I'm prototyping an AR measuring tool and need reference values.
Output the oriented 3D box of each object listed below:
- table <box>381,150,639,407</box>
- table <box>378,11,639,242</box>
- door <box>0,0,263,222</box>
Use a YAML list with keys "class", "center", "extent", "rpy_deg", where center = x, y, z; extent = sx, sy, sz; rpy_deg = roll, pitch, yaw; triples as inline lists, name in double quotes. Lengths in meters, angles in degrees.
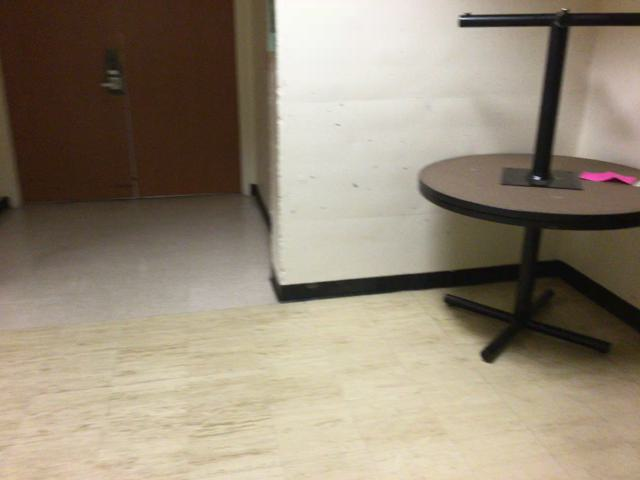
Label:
- class: "table"
  center: [0.860, 0.080, 2.610]
  extent: [0.870, 0.750, 1.020]
  rpy_deg: [-3, 21, -10]
- class: "table"
  center: [0.930, -0.570, 2.470]
  extent: [1.040, 0.730, 1.180]
  rpy_deg: [-3, 21, -10]
- class: "door"
  center: [-1.330, -1.420, 4.220]
  extent: [1.720, 2.450, 0.520]
  rpy_deg: [-3, 21, -10]
